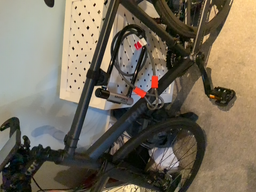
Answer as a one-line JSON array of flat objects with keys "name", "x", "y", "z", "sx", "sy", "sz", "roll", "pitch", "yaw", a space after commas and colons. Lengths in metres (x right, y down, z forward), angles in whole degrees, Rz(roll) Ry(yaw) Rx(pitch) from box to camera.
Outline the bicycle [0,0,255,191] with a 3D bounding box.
[{"name": "bicycle", "x": 0.040, "y": -0.130, "z": 0.840, "sx": 0.570, "sy": 0.930, "sz": 1.760, "roll": 25, "pitch": 106, "yaw": 33}]
